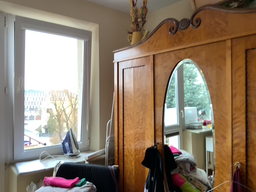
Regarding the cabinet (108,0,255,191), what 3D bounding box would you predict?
[{"bbox_3d":[0.640,0.470,1.750,0.670,2.130,1.780,0,0,-41],"label":"cabinet"}]
